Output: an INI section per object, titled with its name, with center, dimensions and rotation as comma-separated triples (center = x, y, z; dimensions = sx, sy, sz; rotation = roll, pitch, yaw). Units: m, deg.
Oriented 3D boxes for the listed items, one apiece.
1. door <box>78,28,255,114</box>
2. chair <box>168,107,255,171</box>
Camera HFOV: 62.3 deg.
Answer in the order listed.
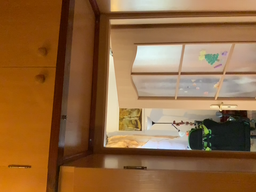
[door]
center = 0.800, -0.140, 1.640
dimensions = 0.810, 2.230, 0.060
rotation = 88, -176, -46
[chair]
center = 1.280, 0.560, 3.080
dimensions = 0.930, 1.240, 0.670
rotation = -49, -40, -85
